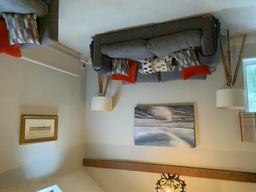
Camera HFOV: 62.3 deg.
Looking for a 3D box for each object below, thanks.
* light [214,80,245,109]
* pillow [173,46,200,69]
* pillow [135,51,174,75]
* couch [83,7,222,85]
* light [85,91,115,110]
[{"bbox_3d":[1.700,-0.010,3.600,0.440,0.420,0.410,-2,173,22],"label":"light"},{"bbox_3d":[0.960,-0.630,3.480,0.380,0.340,0.120,7,-138,30],"label":"pillow"},{"bbox_3d":[0.490,-0.600,3.900,0.630,0.140,0.360,-2,134,21],"label":"pillow"},{"bbox_3d":[0.460,-0.740,3.830,2.200,0.780,1.160,-2,173,22],"label":"couch"},{"bbox_3d":[-0.600,0.110,4.600,0.460,0.370,0.460,-2,173,21],"label":"light"}]
